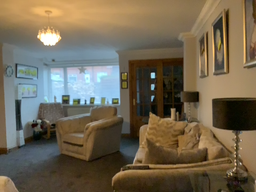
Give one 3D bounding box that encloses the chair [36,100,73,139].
[{"bbox_3d":[-2.100,0.610,6.040,0.730,0.930,0.890,-3,4,-38],"label":"chair"}]
